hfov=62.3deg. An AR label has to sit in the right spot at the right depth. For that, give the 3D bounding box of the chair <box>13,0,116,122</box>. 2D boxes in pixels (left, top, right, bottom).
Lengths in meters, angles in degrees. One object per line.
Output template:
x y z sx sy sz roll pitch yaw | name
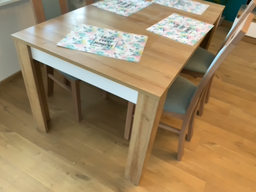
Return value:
-0.450 -0.370 1.640 0.520 0.990 0.410 25 44 19 | chair
